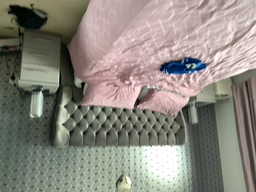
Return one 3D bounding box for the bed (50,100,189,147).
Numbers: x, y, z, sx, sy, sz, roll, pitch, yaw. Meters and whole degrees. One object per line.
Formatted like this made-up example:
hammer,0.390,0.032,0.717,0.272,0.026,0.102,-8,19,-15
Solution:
bed,-0.010,0.390,2.770,1.860,0.500,0.180,5,165,-25
